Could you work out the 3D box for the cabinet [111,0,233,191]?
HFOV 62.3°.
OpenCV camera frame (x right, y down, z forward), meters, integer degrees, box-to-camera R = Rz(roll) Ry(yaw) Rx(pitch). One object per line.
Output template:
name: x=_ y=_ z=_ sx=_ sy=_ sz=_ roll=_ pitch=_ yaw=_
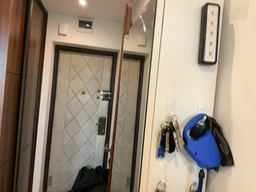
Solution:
cabinet: x=0.040 y=0.590 z=0.920 sx=0.190 sy=1.790 sz=0.710 roll=6 pitch=1 yaw=-8
